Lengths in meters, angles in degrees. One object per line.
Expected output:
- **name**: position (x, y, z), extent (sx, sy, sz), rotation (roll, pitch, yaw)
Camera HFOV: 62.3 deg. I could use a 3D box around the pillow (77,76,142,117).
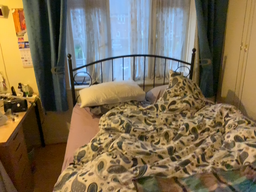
- **pillow**: position (-0.220, -0.020, 2.390), extent (0.650, 0.280, 0.410), rotation (-6, 20, -14)
